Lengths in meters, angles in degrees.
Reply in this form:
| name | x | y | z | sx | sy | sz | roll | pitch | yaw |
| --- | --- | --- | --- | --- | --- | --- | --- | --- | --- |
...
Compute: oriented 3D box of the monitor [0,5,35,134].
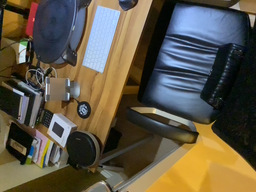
| name | x | y | z | sx | sy | sz | roll | pitch | yaw |
| --- | --- | --- | --- | --- | --- | --- | --- | --- | --- |
| monitor | -0.690 | -0.120 | 0.980 | 0.040 | 0.540 | 0.630 | 6 | 95 | 30 |
